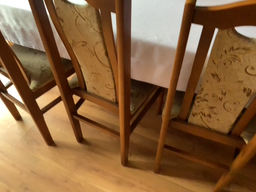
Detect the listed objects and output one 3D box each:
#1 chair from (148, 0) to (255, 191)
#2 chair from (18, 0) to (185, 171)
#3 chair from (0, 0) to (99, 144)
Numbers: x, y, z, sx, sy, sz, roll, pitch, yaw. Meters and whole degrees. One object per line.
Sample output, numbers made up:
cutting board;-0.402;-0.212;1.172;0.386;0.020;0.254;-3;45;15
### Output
chair;0.370;-0.010;0.910;0.370;0.940;0.470;16;50;13
chair;-0.050;-0.130;1.020;0.410;0.940;0.480;21;51;17
chair;-0.490;-0.250;1.120;0.370;0.950;0.470;27;53;22
